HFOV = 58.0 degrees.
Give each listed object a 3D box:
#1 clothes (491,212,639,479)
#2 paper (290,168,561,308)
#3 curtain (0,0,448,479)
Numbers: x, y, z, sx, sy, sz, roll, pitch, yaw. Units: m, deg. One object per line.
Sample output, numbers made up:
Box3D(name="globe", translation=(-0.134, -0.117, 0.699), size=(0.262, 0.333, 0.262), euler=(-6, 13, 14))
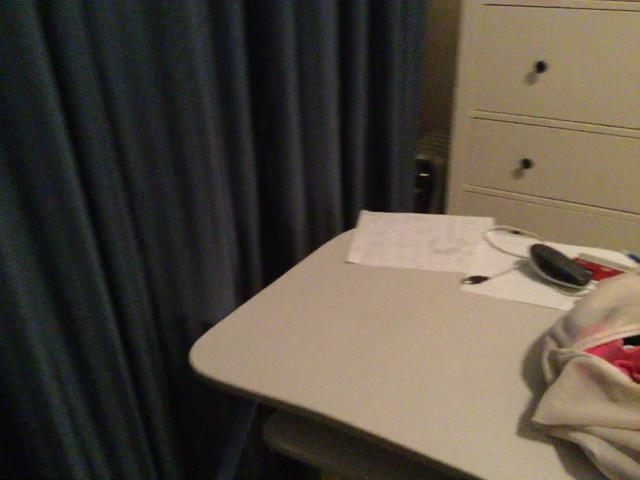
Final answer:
Box3D(name="clothes", translation=(0.460, 0.160, 0.740), size=(0.330, 0.160, 0.440), euler=(16, 34, 28))
Box3D(name="paper", translation=(0.220, -0.030, 1.200), size=(0.460, 0.050, 0.320), euler=(16, 34, 28))
Box3D(name="curtain", translation=(-0.270, -0.010, 0.840), size=(0.160, 1.880, 1.980), euler=(16, 34, 28))
